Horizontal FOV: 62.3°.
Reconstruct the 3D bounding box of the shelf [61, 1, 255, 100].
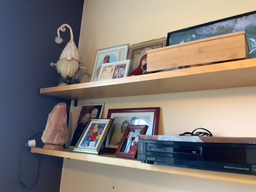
[{"bbox_3d":[0.100,-0.140,0.970,0.900,0.240,0.220,-4,-14,32],"label":"shelf"}]
